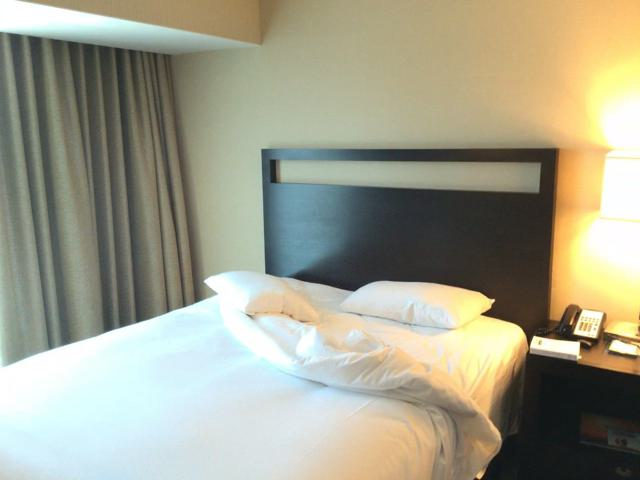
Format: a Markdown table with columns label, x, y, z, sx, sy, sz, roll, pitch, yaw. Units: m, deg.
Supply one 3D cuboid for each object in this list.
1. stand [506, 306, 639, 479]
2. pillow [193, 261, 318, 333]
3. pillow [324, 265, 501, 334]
| label | x | y | z | sx | sy | sz | roll | pitch | yaw |
| --- | --- | --- | --- | --- | --- | --- | --- | --- | --- |
| stand | 1.230 | 0.700 | 2.280 | 0.810 | 0.710 | 0.550 | 1 | 8 | 33 |
| pillow | -0.330 | 0.250 | 2.770 | 0.370 | 0.190 | 0.650 | -7 | 7 | -27 |
| pillow | 0.440 | 0.260 | 2.750 | 0.710 | 0.190 | 0.430 | 1 | 8 | 33 |
